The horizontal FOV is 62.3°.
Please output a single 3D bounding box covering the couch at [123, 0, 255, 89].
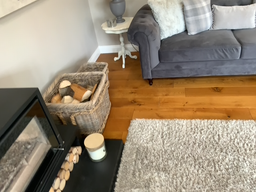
[{"bbox_3d":[1.140,-0.710,2.500,2.140,0.750,1.110,1,37,13],"label":"couch"}]
